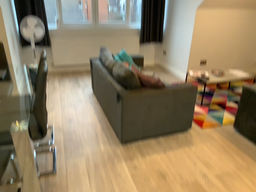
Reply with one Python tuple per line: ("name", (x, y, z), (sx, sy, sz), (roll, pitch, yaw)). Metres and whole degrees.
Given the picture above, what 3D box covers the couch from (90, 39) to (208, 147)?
("couch", (0.120, -0.220, 3.120), (0.980, 0.860, 1.730), (-8, 27, -19))
